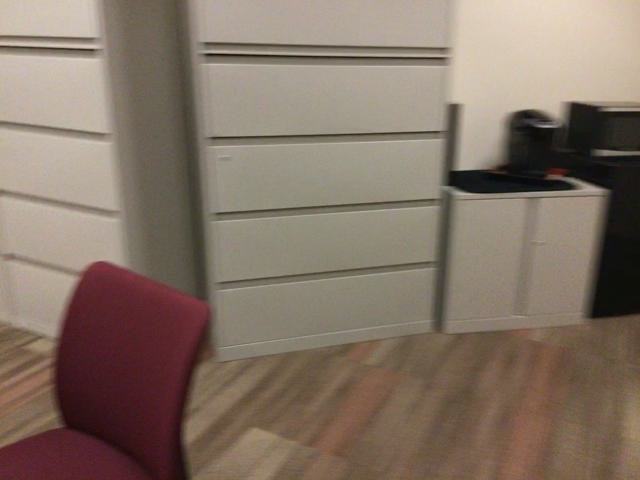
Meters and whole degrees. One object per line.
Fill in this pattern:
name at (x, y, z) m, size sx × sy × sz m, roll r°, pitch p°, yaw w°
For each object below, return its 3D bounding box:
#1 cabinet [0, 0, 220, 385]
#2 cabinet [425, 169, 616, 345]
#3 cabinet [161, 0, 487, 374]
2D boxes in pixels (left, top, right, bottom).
cabinet at (-1.490, -0.430, 2.660) m, size 1.900 × 1.570 × 0.670 m, roll 11°, pitch 16°, yaw 20°
cabinet at (0.900, 0.090, 2.660) m, size 0.710 × 0.760 × 0.150 m, roll 3°, pitch 15°, yaw -6°
cabinet at (-0.060, -0.340, 2.550) m, size 1.210 × 1.680 × 0.570 m, roll 0°, pitch 16°, yaw -17°
